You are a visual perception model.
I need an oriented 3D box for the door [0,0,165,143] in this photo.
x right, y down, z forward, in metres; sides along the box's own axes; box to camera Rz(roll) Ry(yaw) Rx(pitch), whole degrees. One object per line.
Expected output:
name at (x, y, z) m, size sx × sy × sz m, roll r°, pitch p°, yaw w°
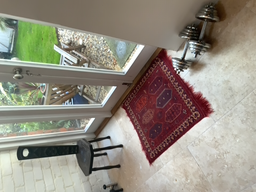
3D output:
door at (-0.880, -0.050, 1.640) m, size 1.510 × 2.060 × 0.090 m, roll -52°, pitch 52°, yaw 38°

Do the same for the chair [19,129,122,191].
chair at (-0.580, 0.610, 2.170) m, size 0.520 × 0.870 × 0.340 m, roll 12°, pitch 99°, yaw 51°
